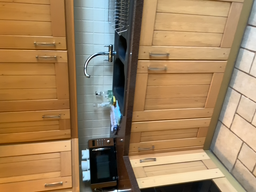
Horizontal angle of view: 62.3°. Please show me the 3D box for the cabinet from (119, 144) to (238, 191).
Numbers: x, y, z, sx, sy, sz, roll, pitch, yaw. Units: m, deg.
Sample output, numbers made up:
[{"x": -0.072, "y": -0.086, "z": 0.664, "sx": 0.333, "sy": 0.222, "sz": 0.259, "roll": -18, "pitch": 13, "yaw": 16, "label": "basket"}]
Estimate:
[{"x": 0.400, "y": 0.800, "z": 1.870, "sx": 0.320, "sy": 0.890, "sz": 0.580, "roll": -119, "pitch": 31, "yaw": -60, "label": "cabinet"}]
